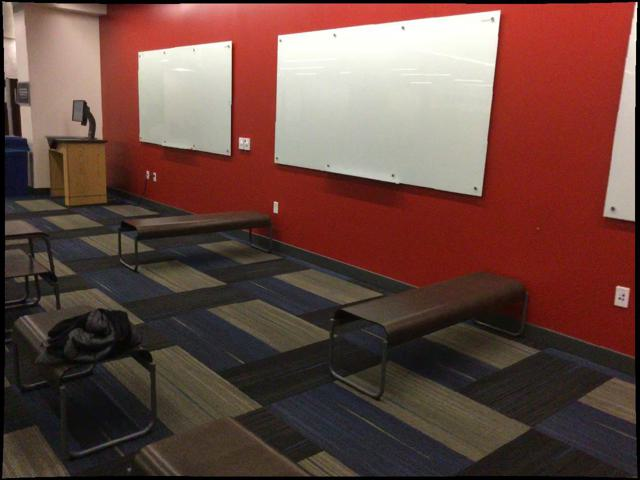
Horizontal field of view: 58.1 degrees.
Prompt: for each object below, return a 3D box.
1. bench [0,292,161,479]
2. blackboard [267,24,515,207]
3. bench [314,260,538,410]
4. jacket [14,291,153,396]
[{"bbox_3d":[-1.147,0.682,2.710,0.469,0.622,0.779,-9,16,-39],"label":"bench"},{"bbox_3d":[0.359,-1.013,4.630,0.190,1.133,2.458,-8,16,-39],"label":"blackboard"},{"bbox_3d":[0.658,0.481,3.370,1.358,0.451,0.509,-9,16,-39],"label":"bench"},{"bbox_3d":[-1.047,0.431,2.550,0.429,0.231,0.480,-9,16,-39],"label":"jacket"}]
